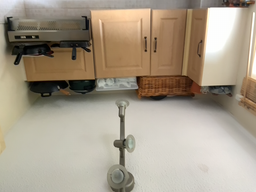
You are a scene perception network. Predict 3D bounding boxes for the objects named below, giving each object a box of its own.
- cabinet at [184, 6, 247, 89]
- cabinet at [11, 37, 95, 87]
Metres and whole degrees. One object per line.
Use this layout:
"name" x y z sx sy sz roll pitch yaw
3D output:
"cabinet" 0.670 -0.390 1.700 0.300 0.590 0.300 -3 -159 -4
"cabinet" -0.630 -0.320 1.910 0.610 0.360 0.330 -3 -159 -5
